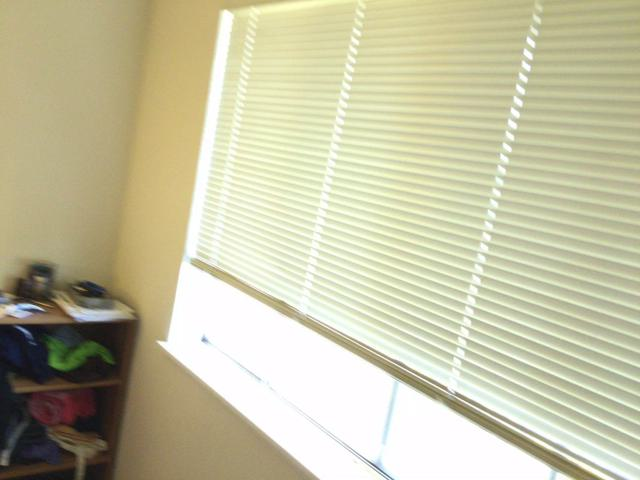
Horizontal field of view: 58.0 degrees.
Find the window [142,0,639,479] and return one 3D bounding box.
[{"bbox_3d":[0.130,0.010,1.310,0.110,1.230,1.810,8,5,-42],"label":"window"}]

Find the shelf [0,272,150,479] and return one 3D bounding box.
[{"bbox_3d":[-1.110,0.630,2.120,0.690,0.950,0.380,8,5,-42],"label":"shelf"}]
